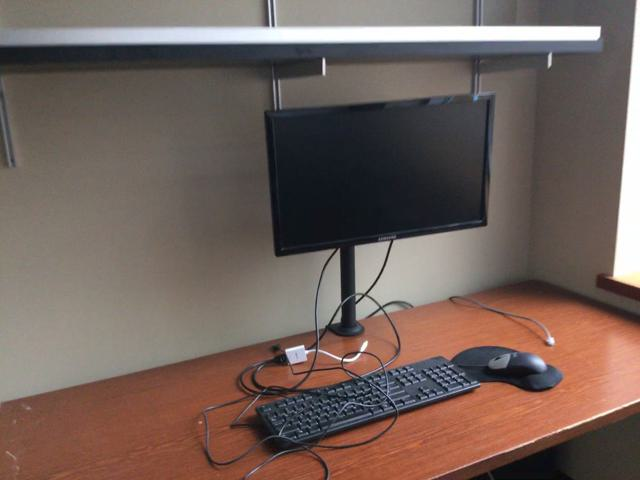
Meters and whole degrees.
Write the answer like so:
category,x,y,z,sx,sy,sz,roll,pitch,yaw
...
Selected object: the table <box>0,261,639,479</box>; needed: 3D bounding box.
category,x,y,z,sx,sy,sz,roll,pitch,yaw
table,0.130,0.610,1.360,1.510,0.800,0.780,-7,12,-25
